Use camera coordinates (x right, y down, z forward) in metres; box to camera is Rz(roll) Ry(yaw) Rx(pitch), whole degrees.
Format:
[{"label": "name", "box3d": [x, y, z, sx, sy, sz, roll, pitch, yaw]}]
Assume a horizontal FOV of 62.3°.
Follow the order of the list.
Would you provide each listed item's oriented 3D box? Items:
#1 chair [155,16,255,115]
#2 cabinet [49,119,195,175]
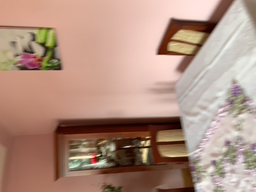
[{"label": "chair", "box3d": [0.770, -0.210, 1.570, 0.390, 0.980, 0.570, 107, 160, -59]}, {"label": "cabinet", "box3d": [-0.090, 0.790, 3.320, 0.540, 2.040, 0.660, 110, 157, -62]}]
